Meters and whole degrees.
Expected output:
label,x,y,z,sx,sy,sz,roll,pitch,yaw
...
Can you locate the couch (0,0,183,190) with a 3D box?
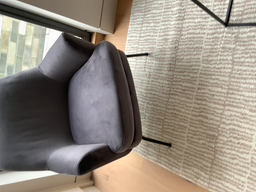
label,x,y,z,sx,sy,sz,roll,pitch,yaw
couch,-0.290,0.070,1.250,0.750,0.810,0.710,-23,71,41
